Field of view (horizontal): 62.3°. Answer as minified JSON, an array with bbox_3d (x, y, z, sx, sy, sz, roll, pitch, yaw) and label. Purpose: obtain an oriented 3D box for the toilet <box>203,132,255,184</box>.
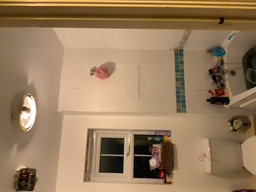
[{"bbox_3d":[1.170,0.550,1.900,0.640,0.750,0.370,89,-178,-76],"label":"toilet"}]
